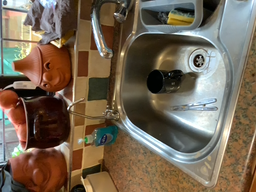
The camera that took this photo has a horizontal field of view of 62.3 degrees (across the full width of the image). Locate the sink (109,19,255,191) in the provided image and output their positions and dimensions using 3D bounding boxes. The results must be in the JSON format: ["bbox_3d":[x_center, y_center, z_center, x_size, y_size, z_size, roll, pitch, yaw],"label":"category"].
[{"bbox_3d":[0.170,-0.030,0.730,0.520,0.190,0.420,25,113,50],"label":"sink"}]
